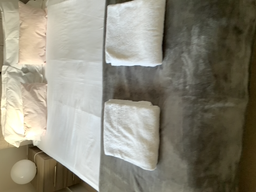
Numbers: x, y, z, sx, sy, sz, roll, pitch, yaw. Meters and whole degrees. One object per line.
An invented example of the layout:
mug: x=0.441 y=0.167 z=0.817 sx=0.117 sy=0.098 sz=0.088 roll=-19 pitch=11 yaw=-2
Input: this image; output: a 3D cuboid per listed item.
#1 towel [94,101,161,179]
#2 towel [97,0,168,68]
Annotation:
towel: x=-0.020 y=0.210 z=1.180 sx=0.430 sy=0.100 sz=0.340 roll=3 pitch=95 yaw=46
towel: x=0.000 y=-0.330 z=1.120 sx=0.440 sy=0.080 sz=0.360 roll=8 pitch=98 yaw=46
